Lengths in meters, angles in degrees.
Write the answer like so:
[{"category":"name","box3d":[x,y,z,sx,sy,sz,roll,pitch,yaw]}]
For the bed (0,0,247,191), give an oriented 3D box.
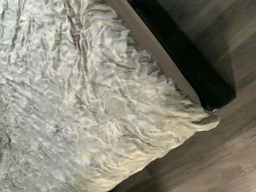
[{"category":"bed","box3d":[-0.620,0.080,1.730,2.120,0.600,1.700,-44,71,36]}]
